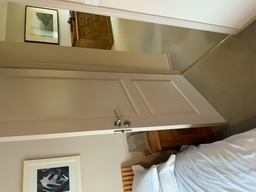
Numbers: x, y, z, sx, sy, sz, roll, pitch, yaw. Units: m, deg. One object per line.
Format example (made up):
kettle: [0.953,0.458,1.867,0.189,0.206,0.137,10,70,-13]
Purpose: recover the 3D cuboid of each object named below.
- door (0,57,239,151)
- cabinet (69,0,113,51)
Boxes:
door: [-0.170,-0.020,1.880,1.040,2.130,0.080,-119,36,-49]
cabinet: [-0.910,-1.700,5.080,0.350,0.890,1.170,133,132,-58]
